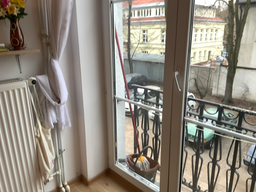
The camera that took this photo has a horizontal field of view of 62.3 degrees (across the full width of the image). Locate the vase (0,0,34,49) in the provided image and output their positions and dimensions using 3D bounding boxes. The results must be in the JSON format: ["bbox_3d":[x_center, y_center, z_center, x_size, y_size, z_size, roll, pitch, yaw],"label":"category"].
[{"bbox_3d":[-0.740,-0.460,1.320,0.210,0.300,0.240,-11,20,-32],"label":"vase"}]
